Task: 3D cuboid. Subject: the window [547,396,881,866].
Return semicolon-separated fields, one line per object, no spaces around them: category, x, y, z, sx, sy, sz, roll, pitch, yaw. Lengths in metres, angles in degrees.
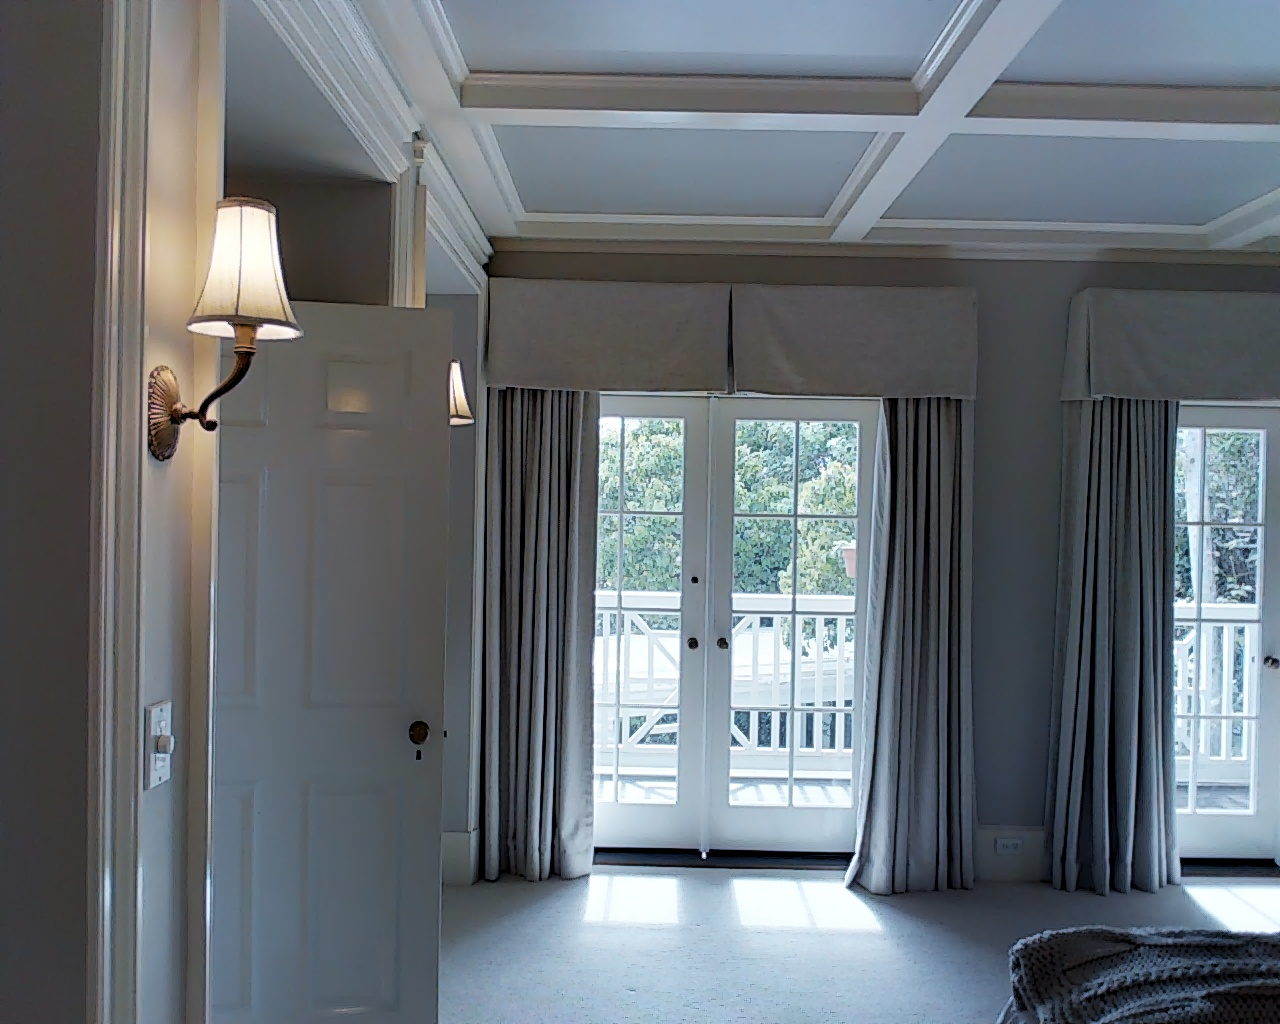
window;0.320;0.520;4.730;1.420;2.020;0.100;1;1;0
